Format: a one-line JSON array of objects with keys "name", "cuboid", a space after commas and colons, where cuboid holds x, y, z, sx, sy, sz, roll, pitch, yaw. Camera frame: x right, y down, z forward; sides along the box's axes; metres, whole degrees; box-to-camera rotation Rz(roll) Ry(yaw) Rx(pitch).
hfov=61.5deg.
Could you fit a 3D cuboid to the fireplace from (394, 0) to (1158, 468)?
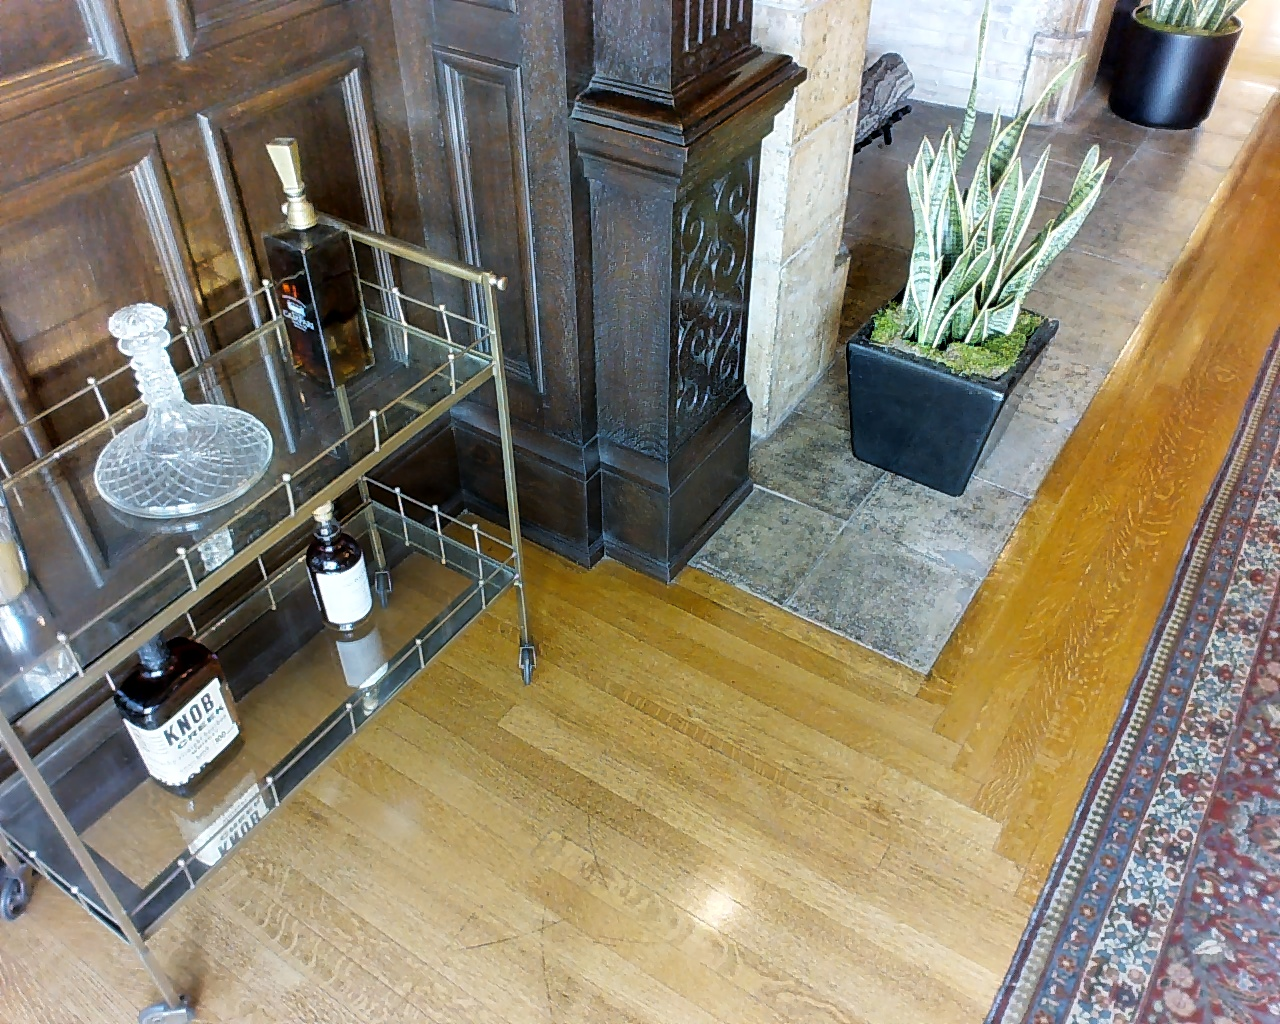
[{"name": "fireplace", "cuboid": [0.740, -1.830, 3.000, 1.050, 1.850, 3.040, 24, 47, 24]}]
